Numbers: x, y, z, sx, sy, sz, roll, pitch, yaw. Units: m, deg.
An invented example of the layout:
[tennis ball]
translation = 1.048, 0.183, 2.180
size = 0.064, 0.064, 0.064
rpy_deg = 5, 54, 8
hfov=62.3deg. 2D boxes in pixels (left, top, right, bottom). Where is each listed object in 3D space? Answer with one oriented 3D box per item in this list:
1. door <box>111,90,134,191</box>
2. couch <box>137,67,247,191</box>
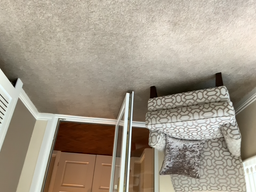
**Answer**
[door]
translation = -0.100, 1.030, 2.080
size = 0.070, 2.020, 0.860
rpy_deg = 7, 151, -7
[couch]
translation = 0.650, 0.410, 2.120
size = 0.790, 0.900, 0.890
rpy_deg = -10, 149, 24
